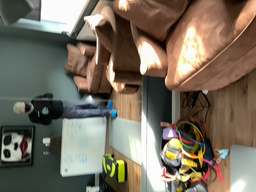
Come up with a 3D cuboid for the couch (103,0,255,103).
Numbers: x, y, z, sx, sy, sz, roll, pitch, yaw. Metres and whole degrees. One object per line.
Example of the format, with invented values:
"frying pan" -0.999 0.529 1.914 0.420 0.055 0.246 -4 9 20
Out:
"couch" 0.420 -0.590 1.510 0.990 0.860 0.970 133 133 -56
